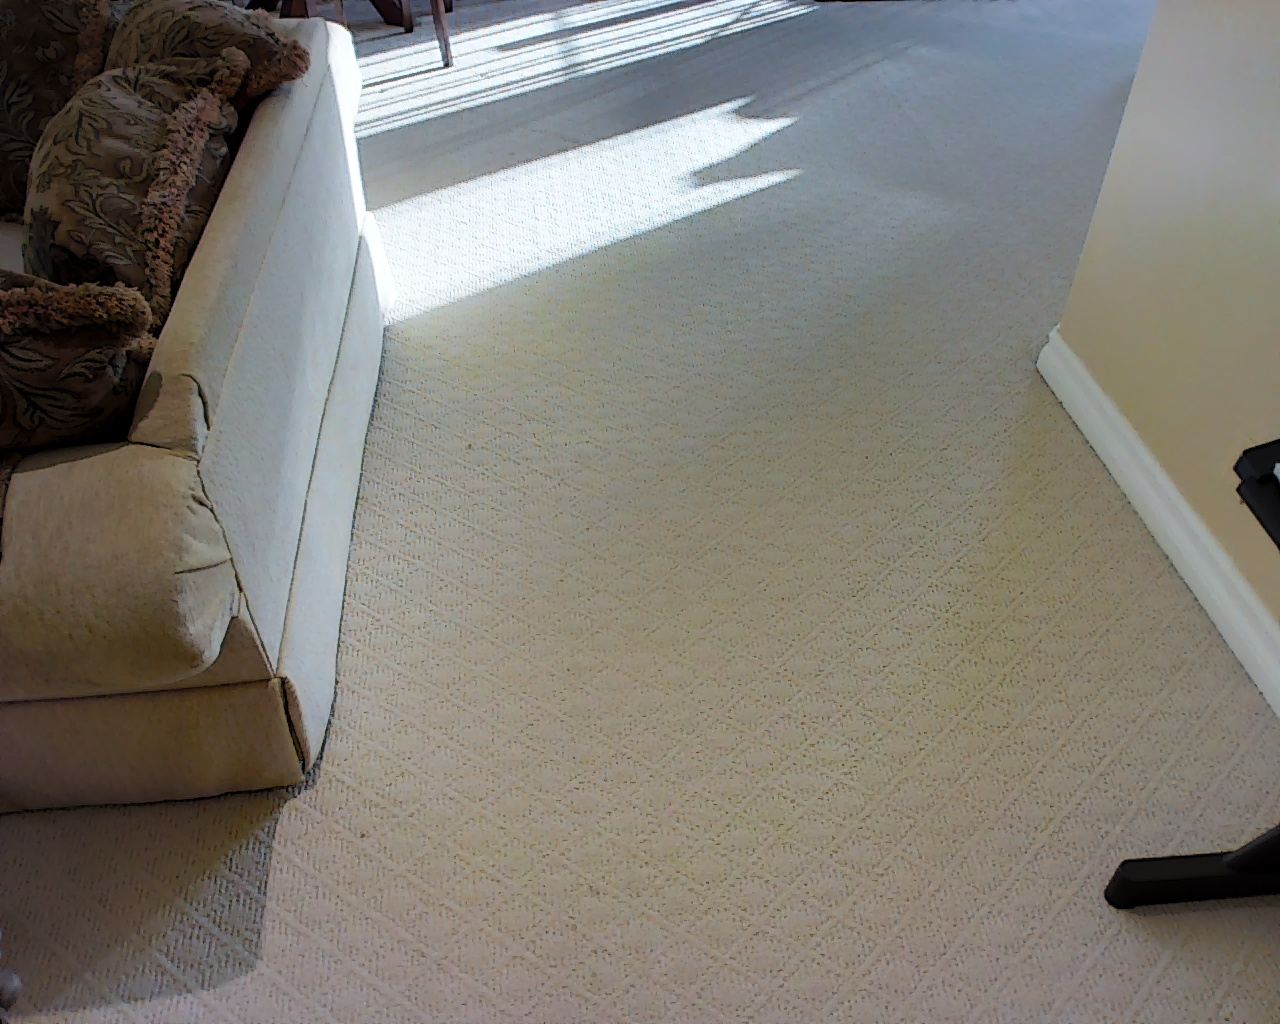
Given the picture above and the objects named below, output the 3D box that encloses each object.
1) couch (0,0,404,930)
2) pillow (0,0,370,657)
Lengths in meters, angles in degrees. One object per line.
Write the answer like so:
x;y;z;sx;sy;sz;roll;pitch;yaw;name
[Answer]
-1.070;-0.320;1.930;1.030;0.780;1.880;-4;41;-4;couch
-0.970;-0.530;1.790;0.790;0.500;1.620;-4;41;-4;pillow
